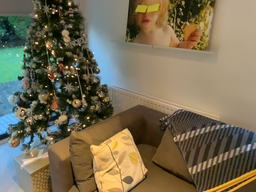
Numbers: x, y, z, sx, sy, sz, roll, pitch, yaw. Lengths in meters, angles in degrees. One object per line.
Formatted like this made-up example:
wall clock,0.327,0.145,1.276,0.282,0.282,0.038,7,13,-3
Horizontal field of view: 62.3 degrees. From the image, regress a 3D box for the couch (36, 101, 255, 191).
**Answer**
couch,0.290,0.680,1.670,1.520,0.590,1.230,18,26,36
